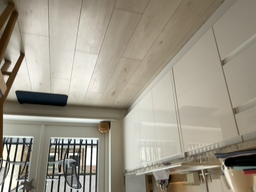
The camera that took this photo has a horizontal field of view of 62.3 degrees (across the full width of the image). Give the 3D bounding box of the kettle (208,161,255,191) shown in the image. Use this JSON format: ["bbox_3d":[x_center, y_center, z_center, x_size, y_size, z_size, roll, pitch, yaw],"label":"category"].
[{"bbox_3d":[0.670,0.540,1.390,0.140,0.200,0.210,6,156,-19],"label":"kettle"}]
